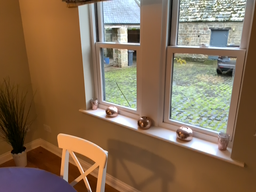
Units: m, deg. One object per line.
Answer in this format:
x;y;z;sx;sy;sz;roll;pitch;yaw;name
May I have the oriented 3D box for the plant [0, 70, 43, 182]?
-1.330;0.310;2.380;0.240;1.110;0.530;12;22;33;plant
